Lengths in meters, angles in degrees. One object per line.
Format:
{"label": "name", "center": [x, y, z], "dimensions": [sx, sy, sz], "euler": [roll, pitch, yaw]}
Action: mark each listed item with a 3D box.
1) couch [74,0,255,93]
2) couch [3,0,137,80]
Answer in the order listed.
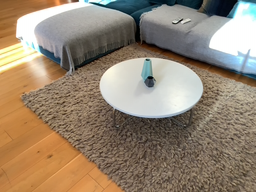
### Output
{"label": "couch", "center": [0.730, -1.320, 3.350], "dimensions": [3.480, 0.830, 1.310], "euler": [30, 47, 32]}
{"label": "couch", "center": [-0.830, -1.000, 3.190], "dimensions": [1.420, 0.530, 1.280], "euler": [30, 47, 33]}
